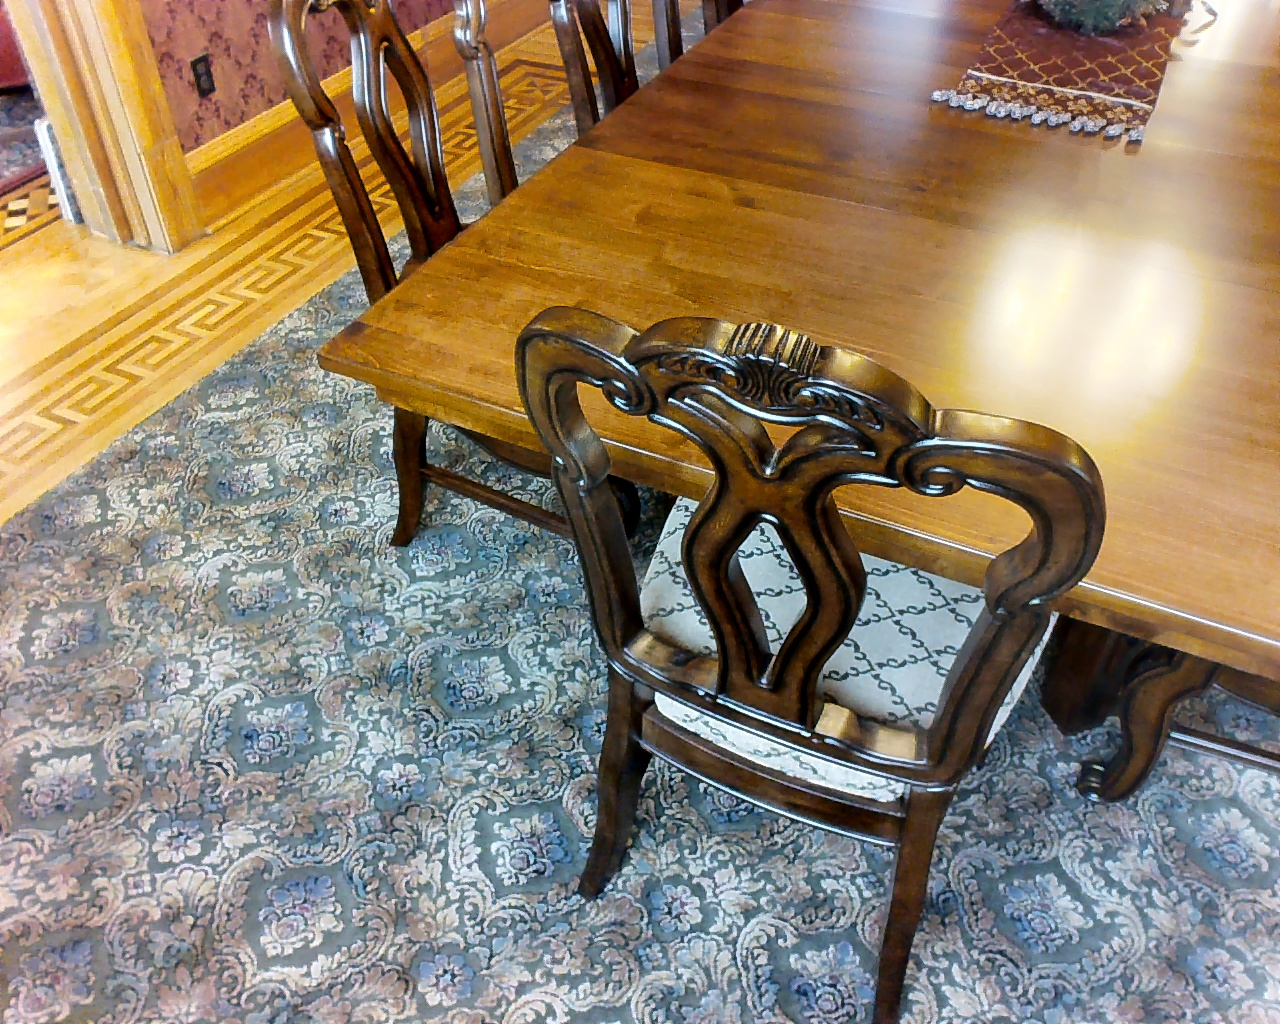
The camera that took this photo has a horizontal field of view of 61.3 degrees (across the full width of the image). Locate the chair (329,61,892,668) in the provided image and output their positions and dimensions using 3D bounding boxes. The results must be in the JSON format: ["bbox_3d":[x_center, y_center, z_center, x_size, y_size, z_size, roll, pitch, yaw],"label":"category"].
[{"bbox_3d":[-0.020,-0.290,2.000,0.710,0.750,0.640,17,45,16],"label":"chair"}]

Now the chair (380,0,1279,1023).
[{"bbox_3d":[0.270,0.060,1.360,0.650,1.100,0.820,19,46,18],"label":"chair"}]
